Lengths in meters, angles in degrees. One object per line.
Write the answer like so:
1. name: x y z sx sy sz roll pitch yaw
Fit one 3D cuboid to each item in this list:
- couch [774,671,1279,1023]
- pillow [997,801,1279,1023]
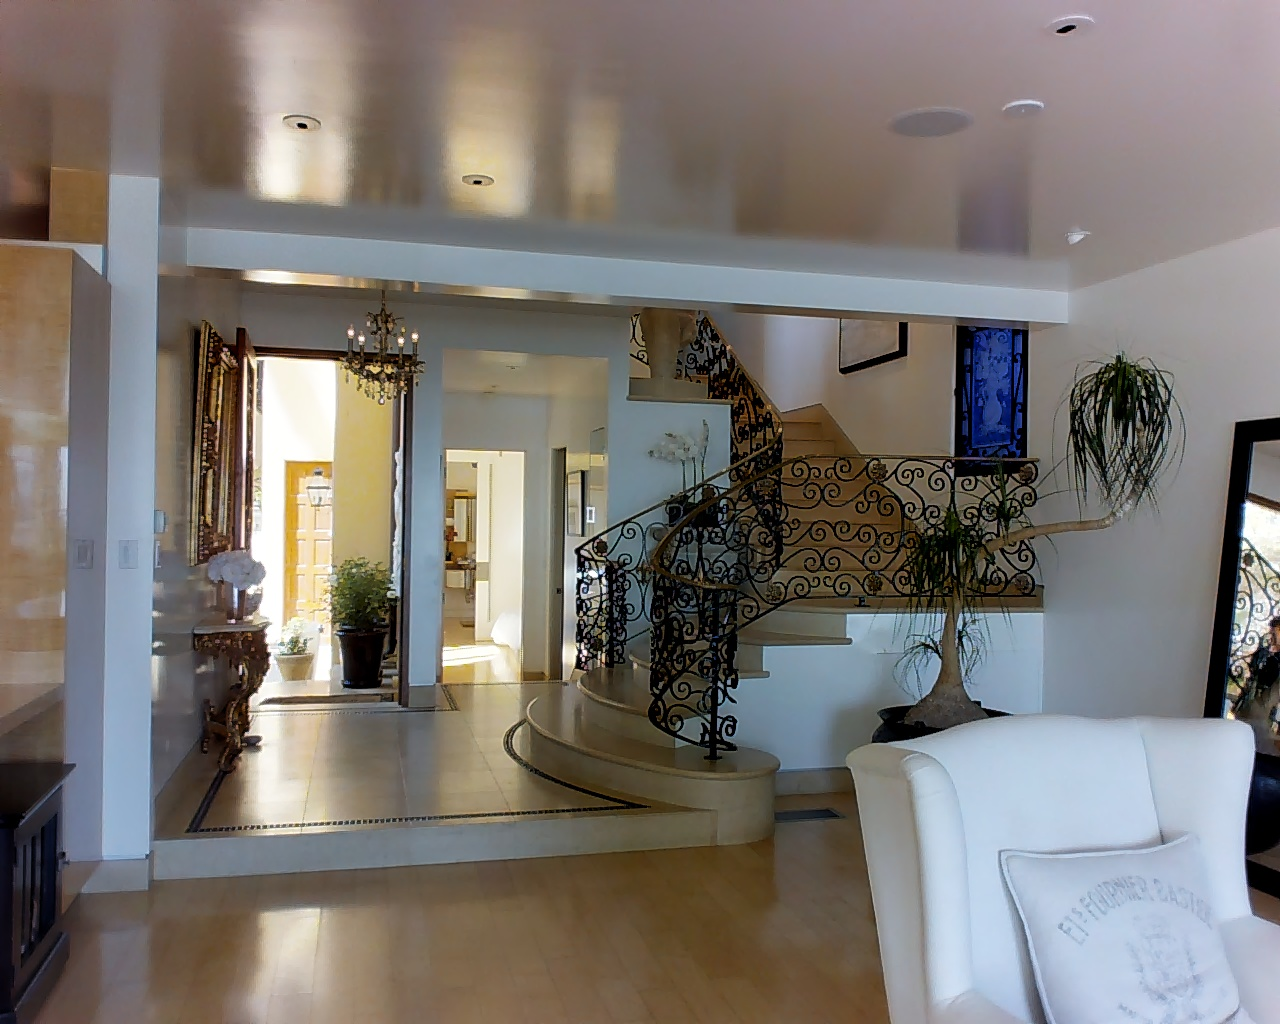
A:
1. couch: 1.050 0.980 2.060 1.180 1.141 1.050 1 0 -29
2. pillow: 1.060 0.880 2.250 0.550 0.420 0.160 -6 28 -27
